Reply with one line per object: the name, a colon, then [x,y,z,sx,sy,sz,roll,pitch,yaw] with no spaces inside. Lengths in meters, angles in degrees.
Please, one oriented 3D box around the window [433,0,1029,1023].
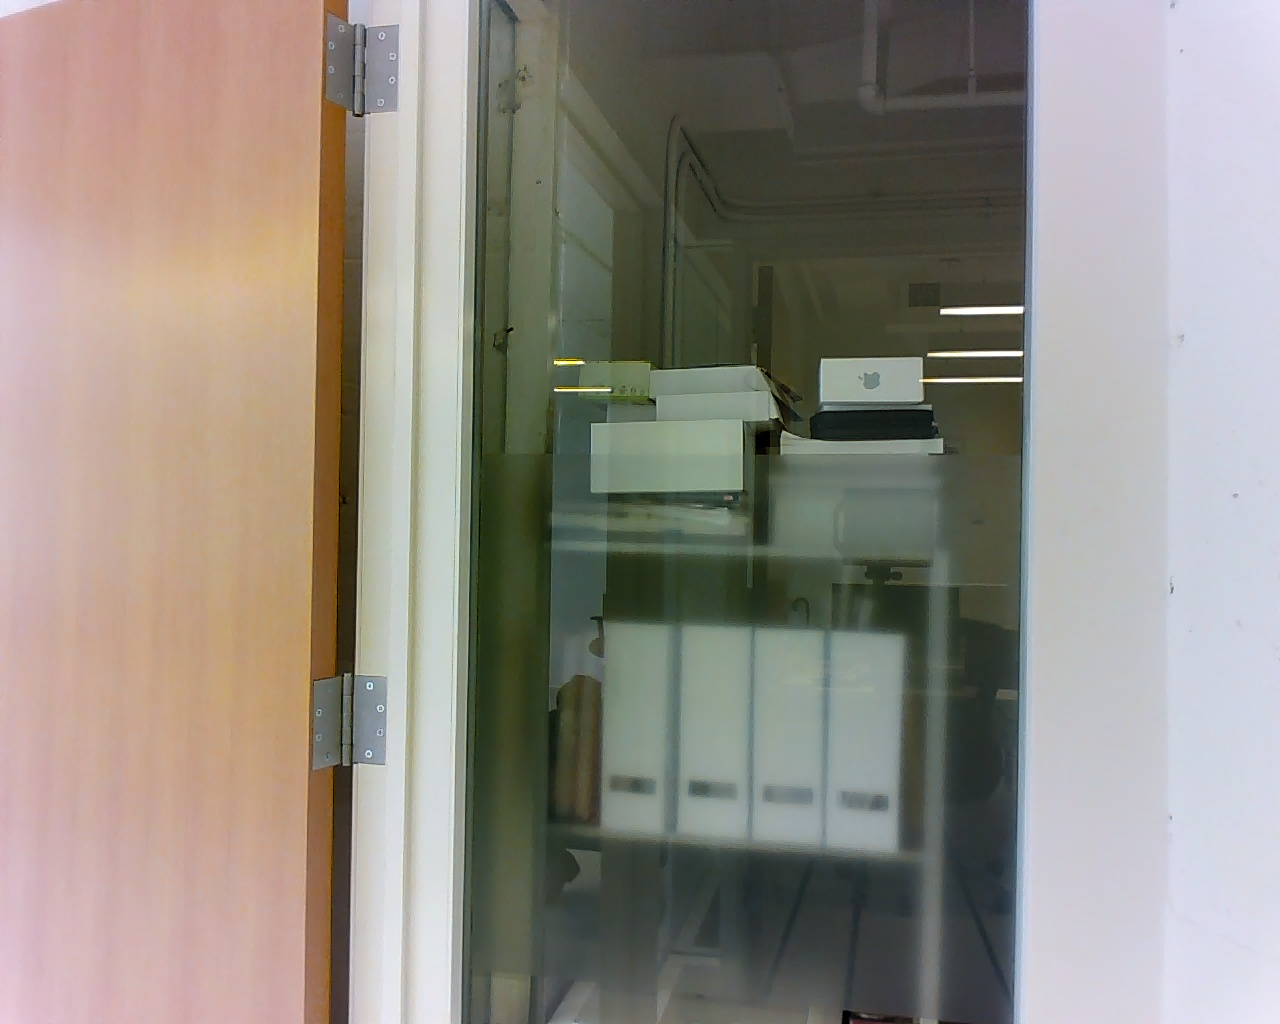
window: [0.110,0.260,1.460,0.750,2.070,0.160,1,-1,12]
